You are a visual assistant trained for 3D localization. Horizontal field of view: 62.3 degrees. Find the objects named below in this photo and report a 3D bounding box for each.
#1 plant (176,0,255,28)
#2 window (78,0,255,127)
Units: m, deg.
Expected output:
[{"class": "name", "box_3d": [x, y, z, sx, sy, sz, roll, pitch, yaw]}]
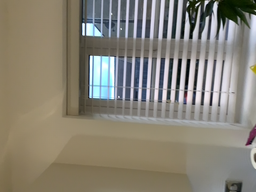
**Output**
[{"class": "plant", "box_3d": [0.430, -0.450, 0.870, 0.250, 0.400, 0.280, -60, -28, -81]}, {"class": "window", "box_3d": [0.220, -0.260, 1.220, 0.080, 1.000, 0.820, -58, -30, -82]}]
